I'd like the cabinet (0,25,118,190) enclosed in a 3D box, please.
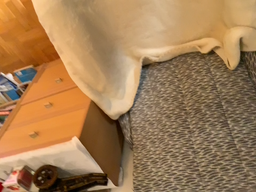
[{"bbox_3d":[-0.440,0.020,1.250,0.580,0.850,0.360,-14,130,17],"label":"cabinet"}]

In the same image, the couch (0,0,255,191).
[{"bbox_3d":[0.070,-0.230,0.890,0.620,0.970,0.790,-14,130,17],"label":"couch"}]
